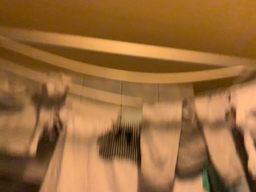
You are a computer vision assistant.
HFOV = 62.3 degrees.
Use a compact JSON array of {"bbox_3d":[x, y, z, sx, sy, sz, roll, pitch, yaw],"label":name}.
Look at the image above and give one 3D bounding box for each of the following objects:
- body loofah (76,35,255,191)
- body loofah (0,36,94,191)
[{"bbox_3d":[0.330,0.210,1.020,1.060,0.690,0.480,6,-27,-9],"label":"body loofah"},{"bbox_3d":[-0.540,0.160,0.850,0.740,0.600,0.500,5,-27,-8],"label":"body loofah"}]
